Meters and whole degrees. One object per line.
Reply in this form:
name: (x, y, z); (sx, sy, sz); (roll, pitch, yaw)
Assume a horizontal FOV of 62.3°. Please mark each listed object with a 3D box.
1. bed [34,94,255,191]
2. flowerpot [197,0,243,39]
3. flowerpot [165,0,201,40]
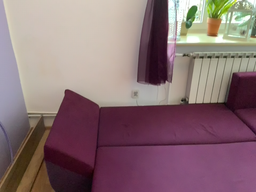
bed: (0.790, 0.500, 1.730); (2.700, 0.410, 1.490); (-2, 25, -5)
flowerpot: (1.020, -0.920, 2.370); (0.330, 0.510, 0.260); (-3, 25, -7)
flowerpot: (0.620, -0.910, 2.450); (0.290, 0.470, 0.250); (-2, 25, -5)
